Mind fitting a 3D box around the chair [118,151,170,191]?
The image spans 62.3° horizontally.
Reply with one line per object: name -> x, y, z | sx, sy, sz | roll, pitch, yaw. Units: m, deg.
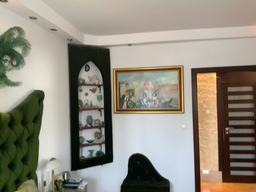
chair -> 0.240, 1.280, 3.040 | 0.710, 0.870, 0.310 | -1, 0, 11
